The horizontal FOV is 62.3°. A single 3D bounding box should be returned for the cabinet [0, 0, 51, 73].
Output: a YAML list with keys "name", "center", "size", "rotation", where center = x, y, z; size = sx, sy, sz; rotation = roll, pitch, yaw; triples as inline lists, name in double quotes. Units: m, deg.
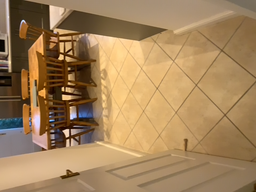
- name: "cabinet"
  center: [-2.350, -1.350, 4.850]
  size: [0.580, 0.910, 1.590]
  rotation: [-1, 91, 55]

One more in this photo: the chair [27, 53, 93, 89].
- name: "chair"
  center: [-0.990, -0.330, 3.100]
  size: [0.500, 0.800, 0.440]
  rotation: [2, 93, 54]

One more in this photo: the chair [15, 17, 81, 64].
- name: "chair"
  center: [-1.270, -0.840, 3.400]
  size: [0.500, 0.860, 0.550]
  rotation: [2, 94, 53]

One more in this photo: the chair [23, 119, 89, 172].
- name: "chair"
  center: [-1.100, 0.720, 3.270]
  size: [0.460, 0.860, 0.550]
  rotation: [10, 100, 55]
